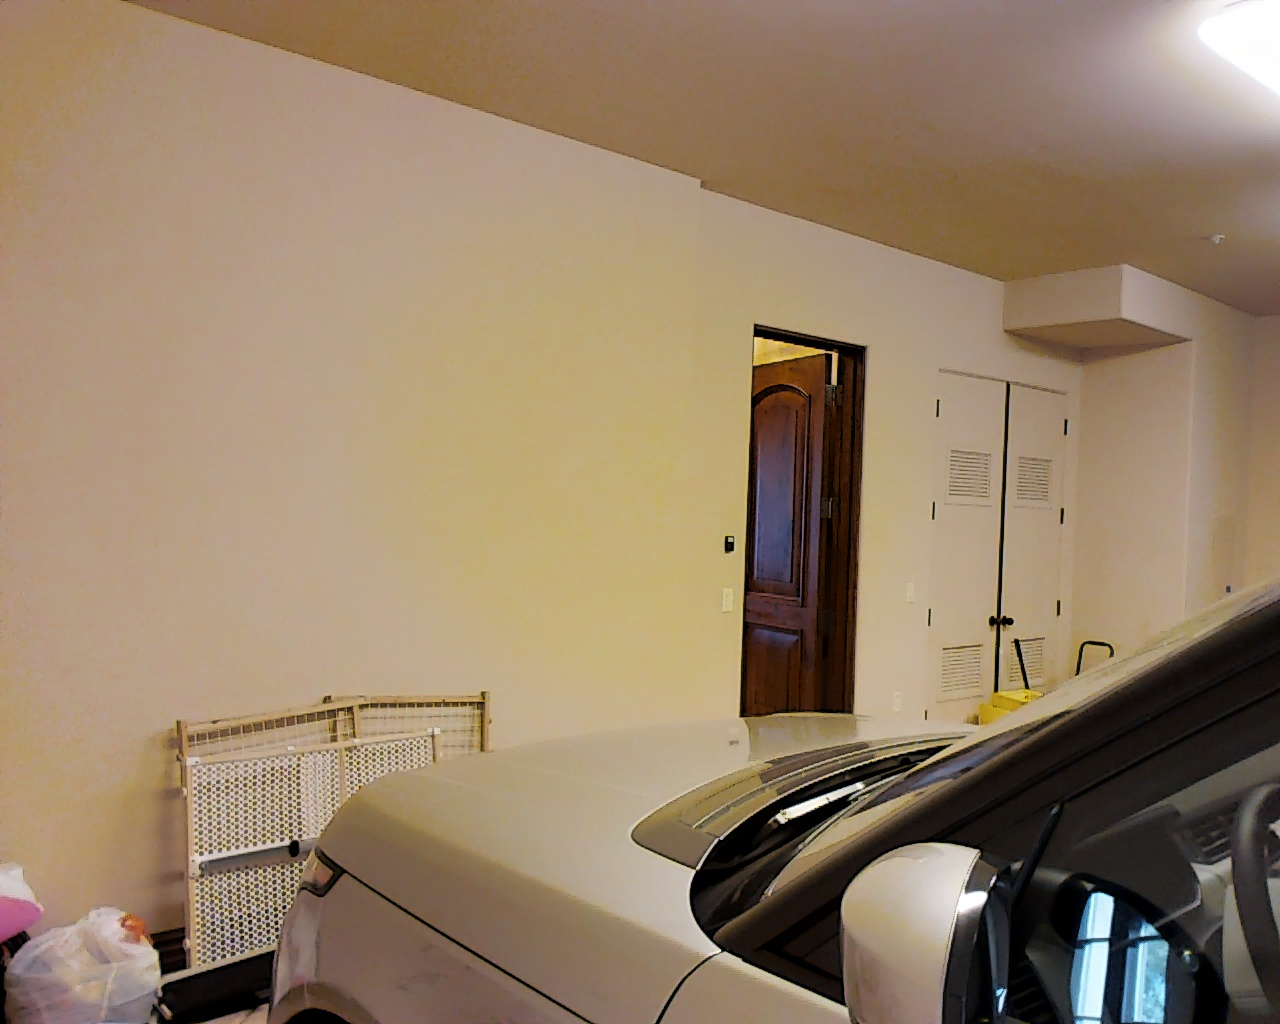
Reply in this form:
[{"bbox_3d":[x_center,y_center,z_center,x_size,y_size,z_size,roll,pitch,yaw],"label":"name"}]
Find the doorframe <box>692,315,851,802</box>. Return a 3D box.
[{"bbox_3d":[0.720,0.240,5.720,0.970,2.430,0.170,1,1,-41],"label":"doorframe"}]
